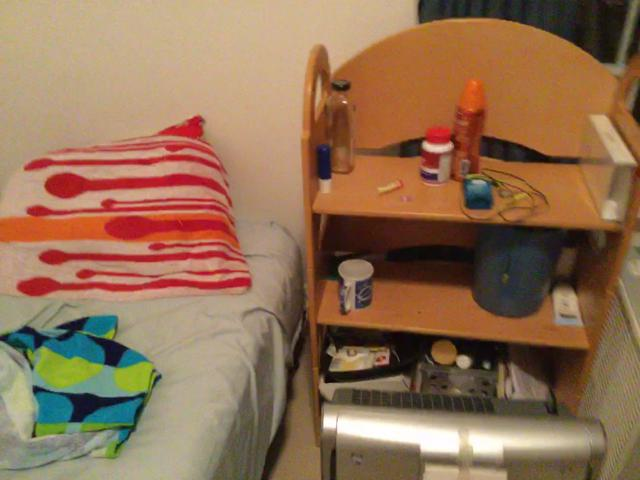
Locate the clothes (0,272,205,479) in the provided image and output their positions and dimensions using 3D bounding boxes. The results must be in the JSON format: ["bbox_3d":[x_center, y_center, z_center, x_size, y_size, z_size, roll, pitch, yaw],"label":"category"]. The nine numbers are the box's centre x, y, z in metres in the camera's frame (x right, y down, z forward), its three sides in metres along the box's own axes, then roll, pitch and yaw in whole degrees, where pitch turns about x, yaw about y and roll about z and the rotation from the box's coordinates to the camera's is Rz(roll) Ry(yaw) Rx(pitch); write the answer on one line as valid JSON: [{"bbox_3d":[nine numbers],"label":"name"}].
[{"bbox_3d":[-0.550,0.240,1.150,0.500,0.130,0.400,2,31,13],"label":"clothes"}]

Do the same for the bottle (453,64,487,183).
[{"bbox_3d":[0.320,-0.250,1.240,0.060,0.210,0.150,2,31,13],"label":"bottle"}]
